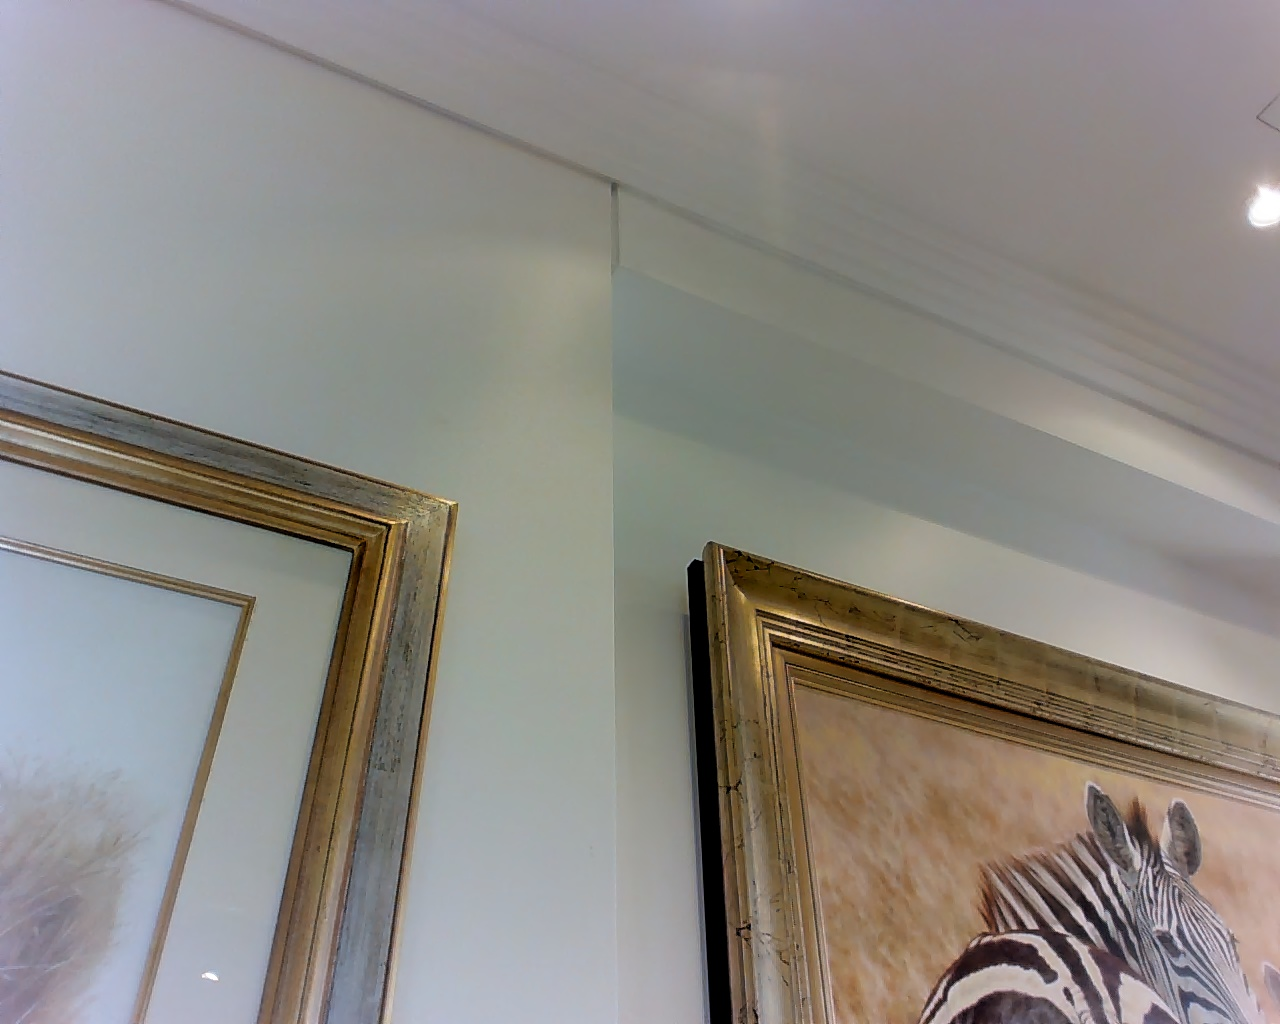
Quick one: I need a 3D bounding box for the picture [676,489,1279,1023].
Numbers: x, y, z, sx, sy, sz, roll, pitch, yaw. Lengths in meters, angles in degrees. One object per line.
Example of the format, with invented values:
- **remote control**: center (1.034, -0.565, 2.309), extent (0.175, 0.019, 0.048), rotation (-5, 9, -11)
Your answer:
- **picture**: center (0.620, 0.640, 1.070), extent (1.200, 1.240, 0.120), rotation (17, -44, -19)
